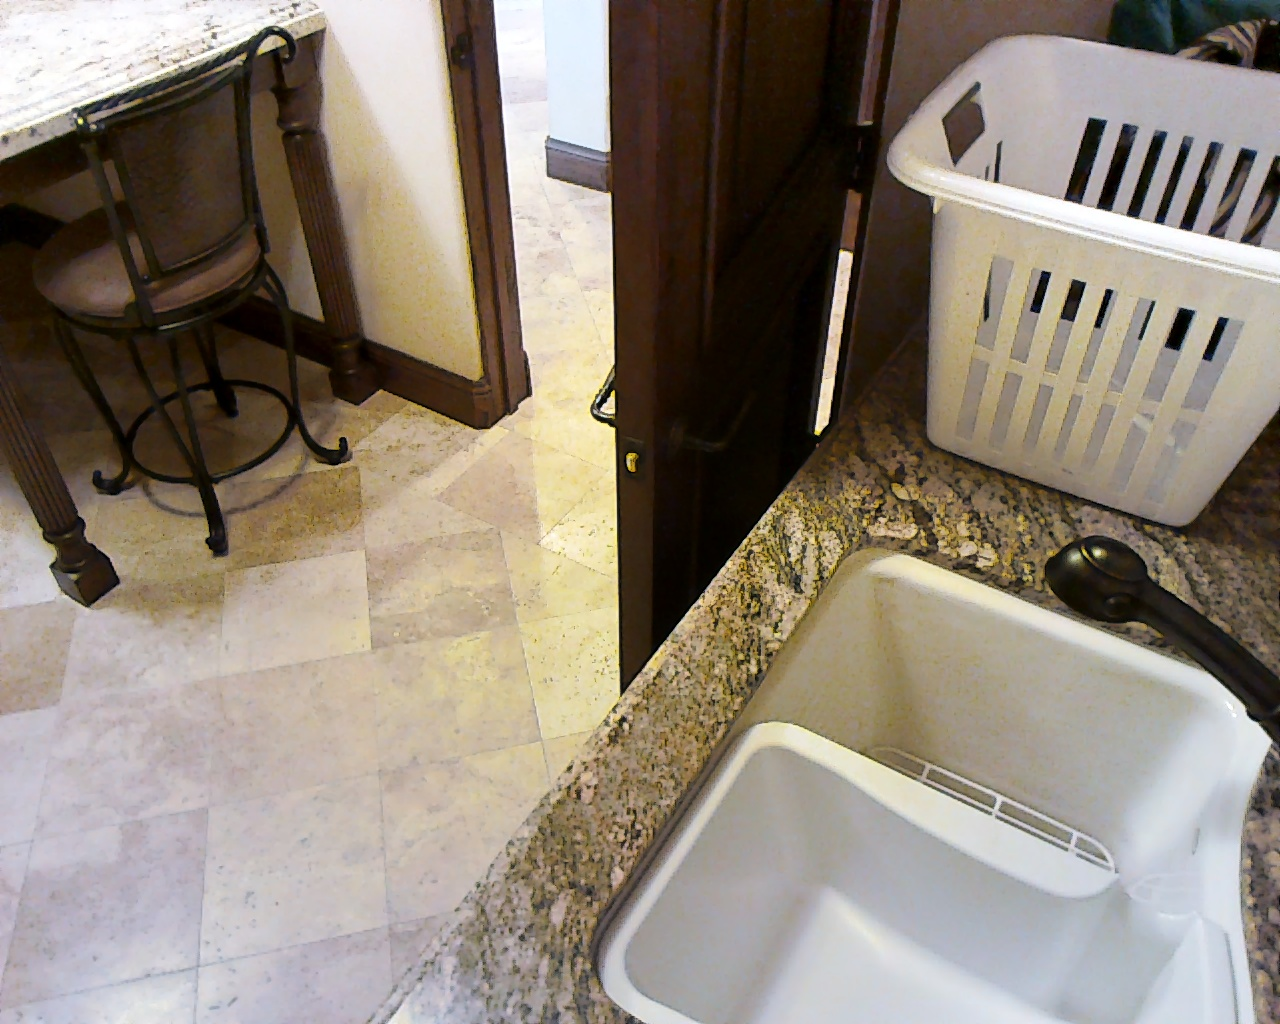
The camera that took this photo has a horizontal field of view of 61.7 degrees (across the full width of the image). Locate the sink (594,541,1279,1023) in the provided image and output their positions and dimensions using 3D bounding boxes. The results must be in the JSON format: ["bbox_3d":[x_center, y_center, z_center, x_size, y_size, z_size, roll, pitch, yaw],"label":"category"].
[{"bbox_3d":[0.280,0.370,0.960,0.410,0.320,0.530,22,46,23],"label":"sink"}]

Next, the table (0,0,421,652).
[{"bbox_3d":[-1.630,-0.690,2.560,1.800,1.000,1.050,22,46,23],"label":"table"}]
